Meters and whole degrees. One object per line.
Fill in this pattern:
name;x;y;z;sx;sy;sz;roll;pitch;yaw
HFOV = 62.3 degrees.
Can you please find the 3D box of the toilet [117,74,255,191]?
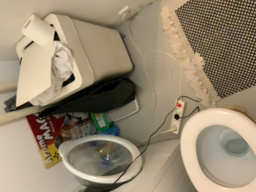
toilet;0.430;0.310;0.910;0.370;0.810;0.620;-23;89;32
